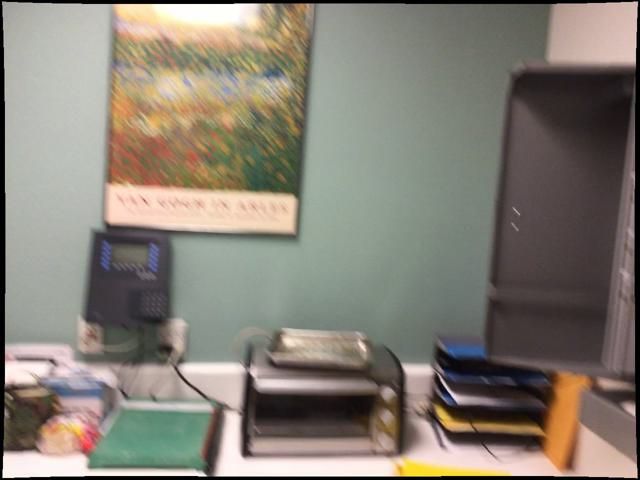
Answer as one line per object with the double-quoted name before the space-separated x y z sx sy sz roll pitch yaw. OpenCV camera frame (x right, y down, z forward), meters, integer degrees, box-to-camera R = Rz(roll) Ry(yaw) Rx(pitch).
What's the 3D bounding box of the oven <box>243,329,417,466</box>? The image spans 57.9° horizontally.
"oven" 0.010 0.450 1.730 0.460 0.270 0.370 1 7 -6
